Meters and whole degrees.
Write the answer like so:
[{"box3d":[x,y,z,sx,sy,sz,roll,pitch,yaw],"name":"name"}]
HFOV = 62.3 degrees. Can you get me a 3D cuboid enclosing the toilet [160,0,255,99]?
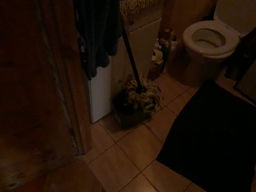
[{"box3d":[0.700,-0.490,1.690,0.650,0.790,0.390,-32,62,-27],"name":"toilet"}]
